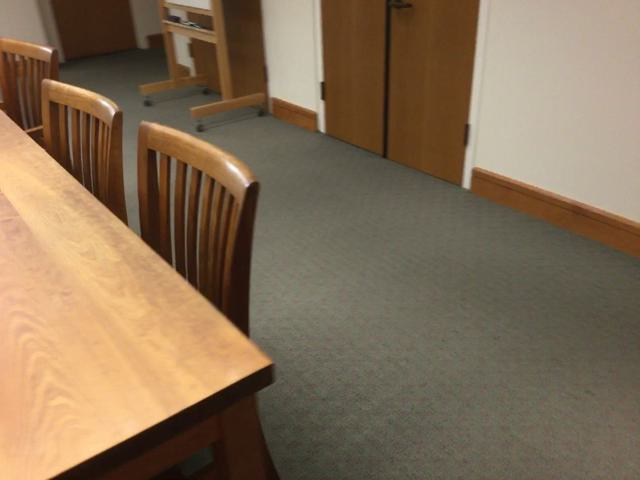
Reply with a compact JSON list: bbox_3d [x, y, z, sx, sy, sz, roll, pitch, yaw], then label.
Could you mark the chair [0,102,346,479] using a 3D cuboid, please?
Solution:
[{"bbox_3d":[-0.440,0.300,1.270,0.630,0.970,0.670,-18,36,-35],"label":"chair"}]
